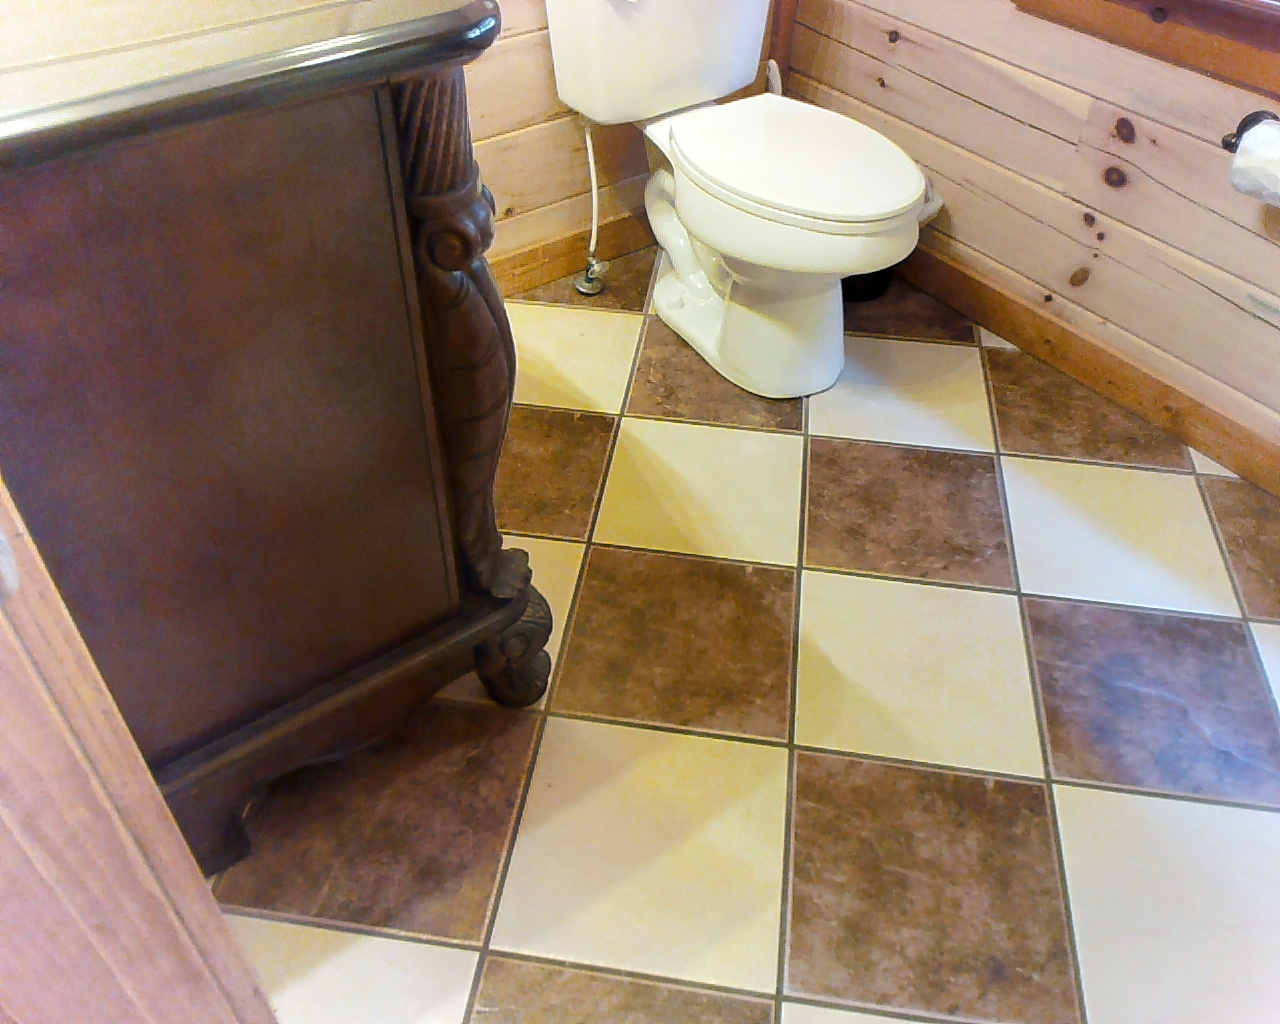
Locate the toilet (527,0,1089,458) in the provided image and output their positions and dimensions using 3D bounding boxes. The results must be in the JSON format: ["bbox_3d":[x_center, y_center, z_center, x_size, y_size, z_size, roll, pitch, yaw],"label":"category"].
[{"bbox_3d":[0.240,-0.690,1.950,0.510,0.750,0.800,-28,50,-27],"label":"toilet"}]
